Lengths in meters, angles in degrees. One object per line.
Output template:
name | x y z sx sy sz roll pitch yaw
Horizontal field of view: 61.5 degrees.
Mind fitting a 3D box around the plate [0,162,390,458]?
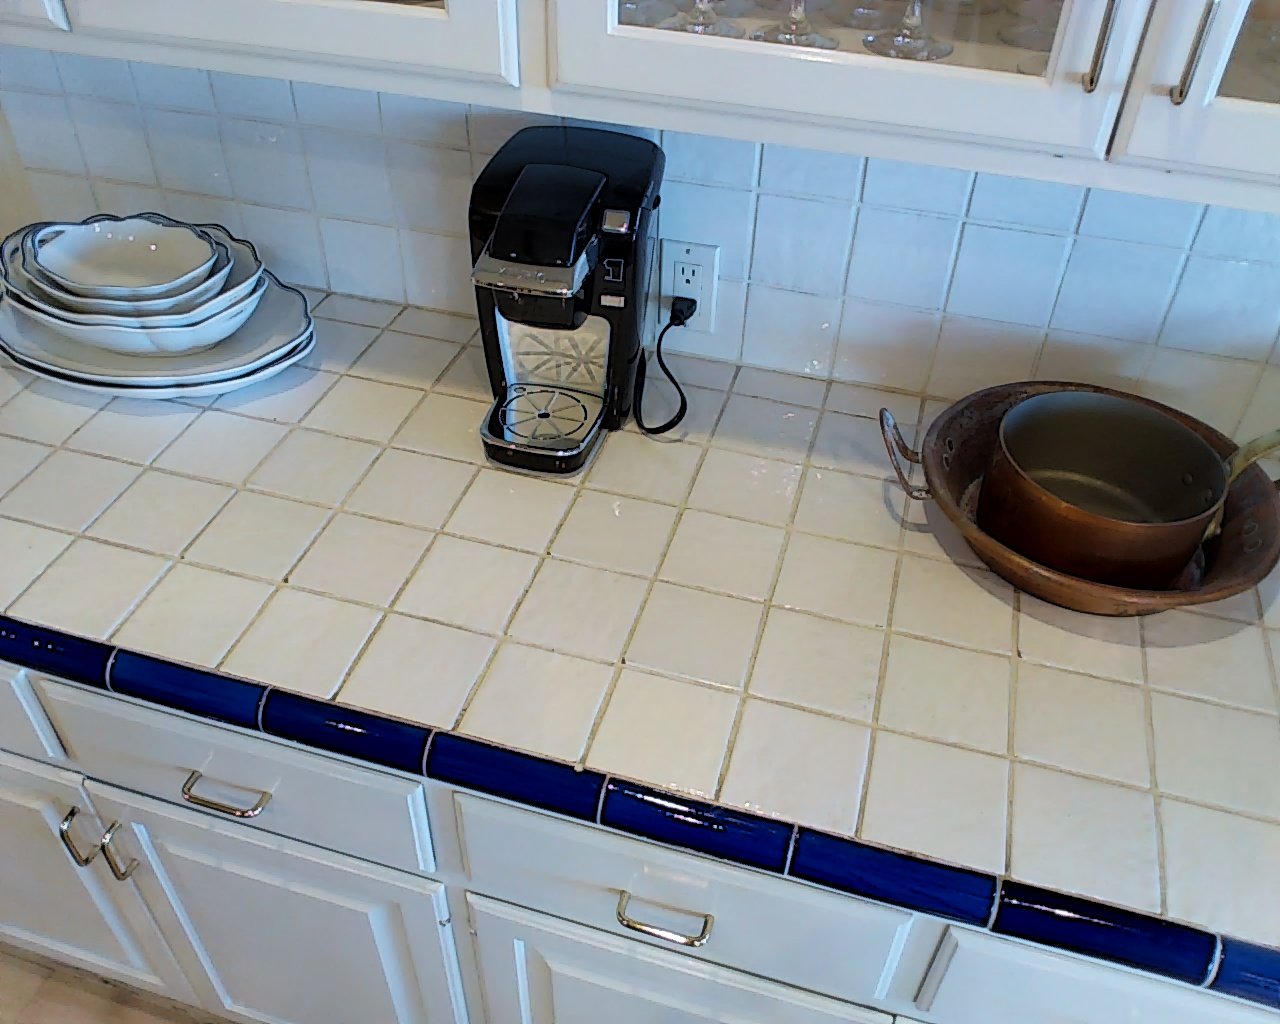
plate | -0.580 -0.260 1.290 0.420 0.130 0.340 14 42 14
